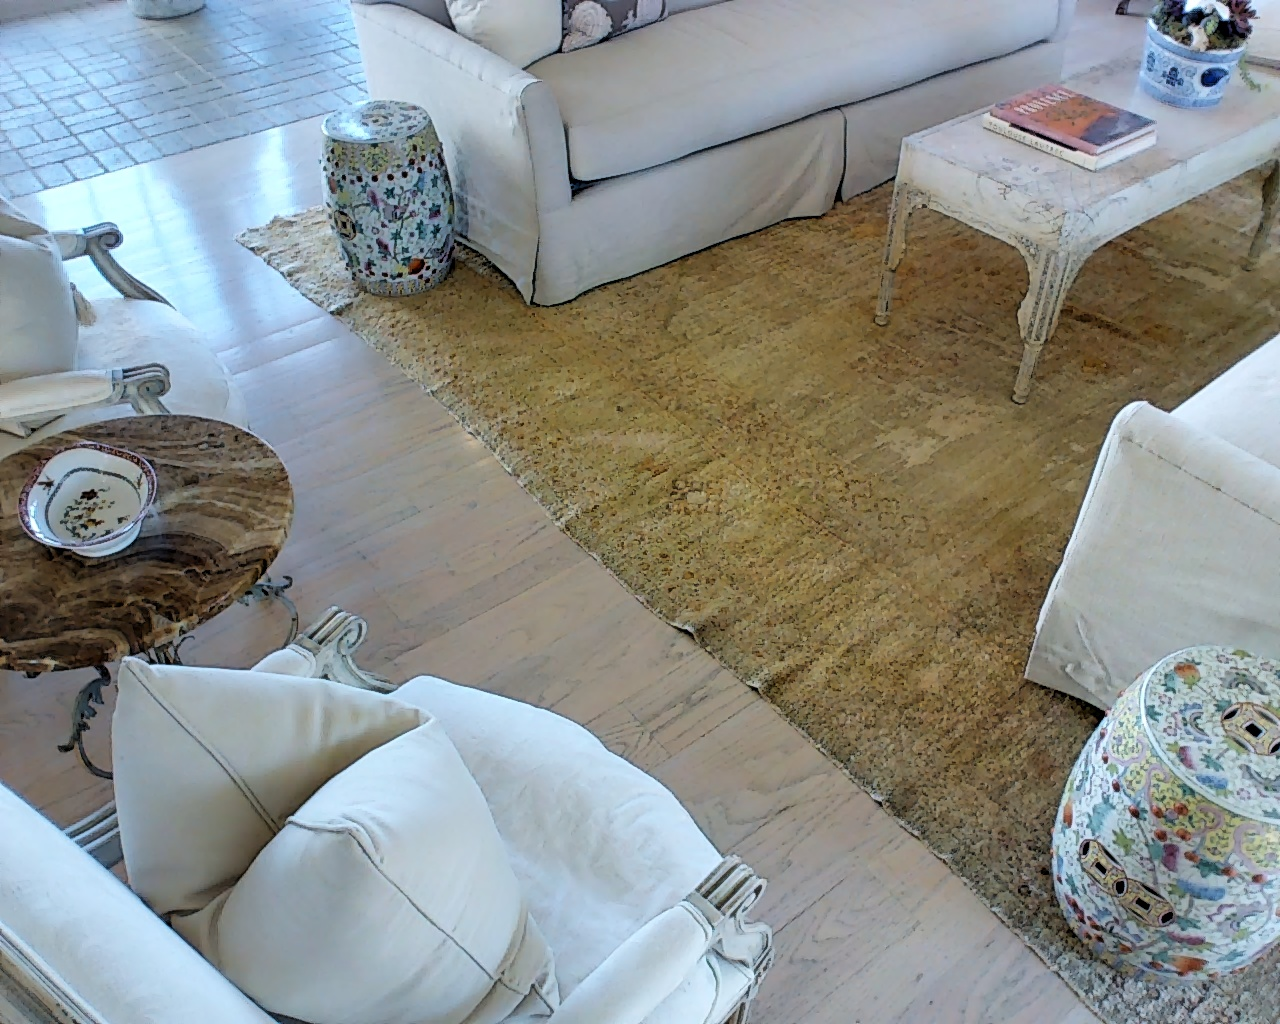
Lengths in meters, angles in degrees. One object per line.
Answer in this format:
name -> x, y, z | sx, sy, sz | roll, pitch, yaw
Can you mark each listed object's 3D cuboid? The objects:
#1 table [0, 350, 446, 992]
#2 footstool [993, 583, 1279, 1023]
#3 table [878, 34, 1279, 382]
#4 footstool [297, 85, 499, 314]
table -> -0.750, 0.230, 1.740 | 0.570, 0.630, 0.590 | -26, 48, -25
footstool -> 0.830, 0.450, 1.590 | 0.370, 0.470, 0.350 | -28, 48, -26
table -> 1.260, -0.860, 2.900 | 1.130, 0.460, 0.520 | -27, 48, -26
footstool -> -0.690, -0.910, 3.120 | 0.380, 0.460, 0.360 | -27, 48, -26
